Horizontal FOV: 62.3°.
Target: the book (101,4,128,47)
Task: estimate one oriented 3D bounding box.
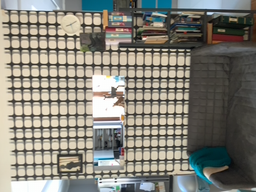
[{"bbox_3d":[-0.140,-0.690,2.110,0.210,0.250,0.360,-143,53,-82],"label":"book"}]

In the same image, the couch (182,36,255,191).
[{"bbox_3d":[1.030,0.120,2.050,0.750,0.700,1.230,-129,40,-80],"label":"couch"}]

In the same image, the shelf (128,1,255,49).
[{"bbox_3d":[0.690,-0.680,2.130,0.370,1.350,0.350,-129,40,-80],"label":"shelf"}]
